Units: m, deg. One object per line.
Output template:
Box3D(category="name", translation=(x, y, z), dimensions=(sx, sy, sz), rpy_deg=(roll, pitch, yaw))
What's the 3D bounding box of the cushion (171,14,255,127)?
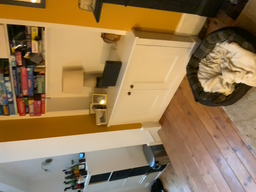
Box3D(category="cushion", translation=(0.780, -0.210, 1.910), dimensions=(0.750, 0.260, 0.630), rpy_deg=(112, 147, -44))
